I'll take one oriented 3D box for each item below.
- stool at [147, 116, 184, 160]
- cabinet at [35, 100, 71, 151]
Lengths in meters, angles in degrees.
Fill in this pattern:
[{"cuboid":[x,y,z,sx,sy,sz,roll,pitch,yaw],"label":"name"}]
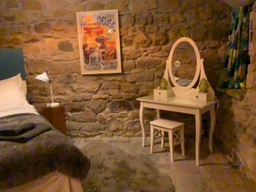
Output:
[{"cuboid":[0.520,0.560,2.920,0.400,0.450,0.310,5,12,40],"label":"stool"},{"cuboid":[-1.180,0.440,3.320,0.380,0.660,0.390,-9,11,-33],"label":"cabinet"}]
